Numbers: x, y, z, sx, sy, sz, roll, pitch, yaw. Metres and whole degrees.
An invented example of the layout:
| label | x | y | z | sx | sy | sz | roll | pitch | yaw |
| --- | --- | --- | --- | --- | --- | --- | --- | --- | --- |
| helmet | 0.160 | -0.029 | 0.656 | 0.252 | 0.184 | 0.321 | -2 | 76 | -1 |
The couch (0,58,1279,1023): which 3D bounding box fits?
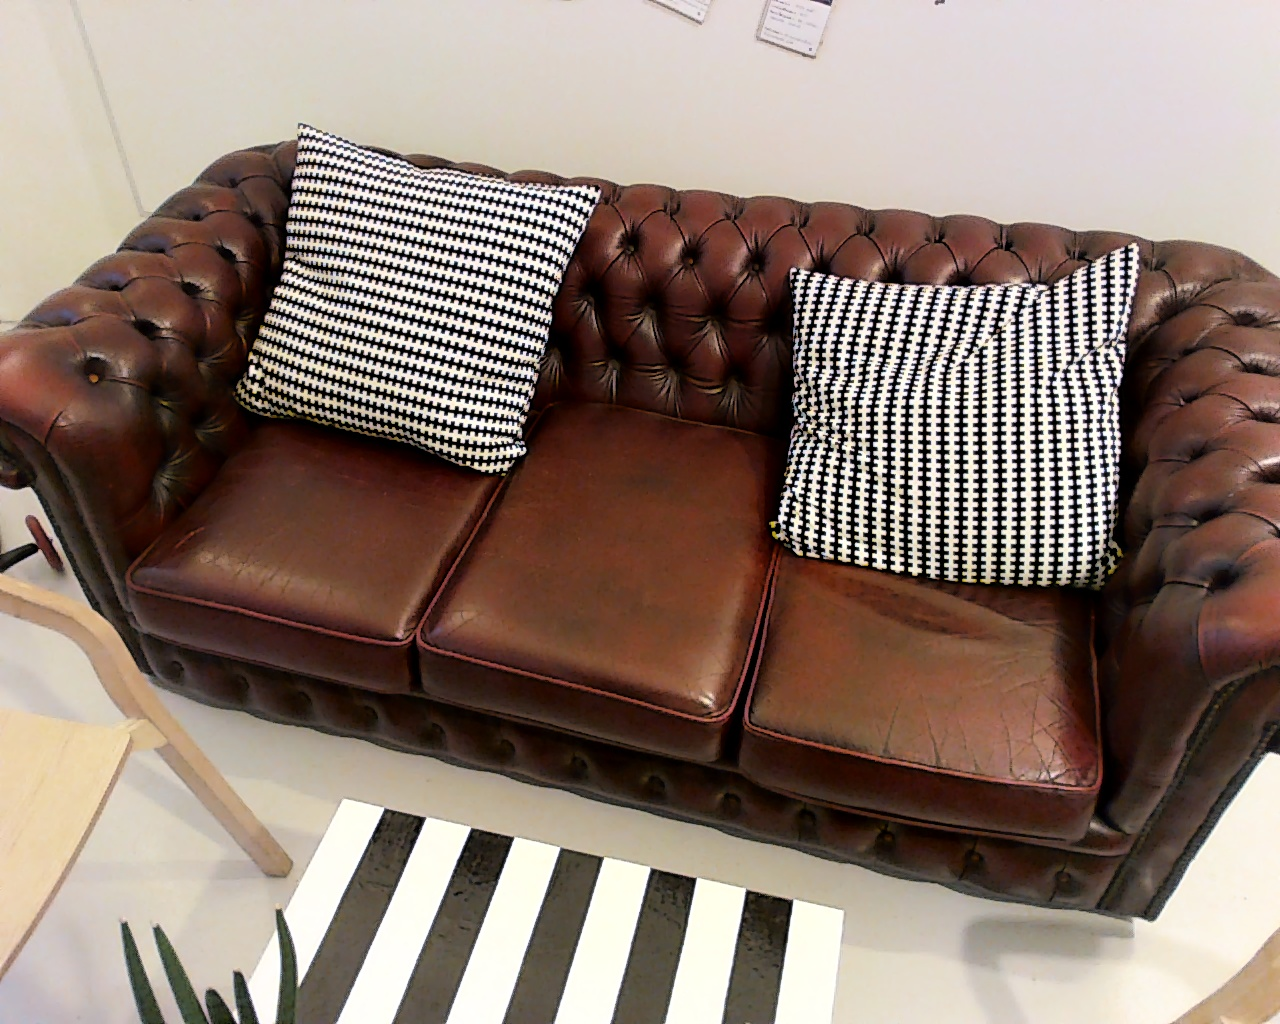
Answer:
| label | x | y | z | sx | sy | sz | roll | pitch | yaw |
| --- | --- | --- | --- | --- | --- | --- | --- | --- | --- |
| couch | 0.010 | -0.060 | 1.700 | 1.949 | 0.770 | 0.970 | 12 | 43 | 13 |
